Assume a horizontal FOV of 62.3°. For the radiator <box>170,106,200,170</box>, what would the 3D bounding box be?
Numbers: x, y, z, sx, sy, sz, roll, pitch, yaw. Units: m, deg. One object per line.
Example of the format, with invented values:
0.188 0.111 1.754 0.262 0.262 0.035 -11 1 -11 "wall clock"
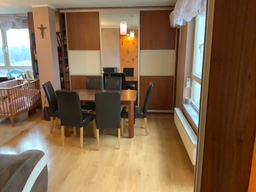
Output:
0.870 0.570 3.480 0.160 0.380 1.630 0 14 4 "radiator"
